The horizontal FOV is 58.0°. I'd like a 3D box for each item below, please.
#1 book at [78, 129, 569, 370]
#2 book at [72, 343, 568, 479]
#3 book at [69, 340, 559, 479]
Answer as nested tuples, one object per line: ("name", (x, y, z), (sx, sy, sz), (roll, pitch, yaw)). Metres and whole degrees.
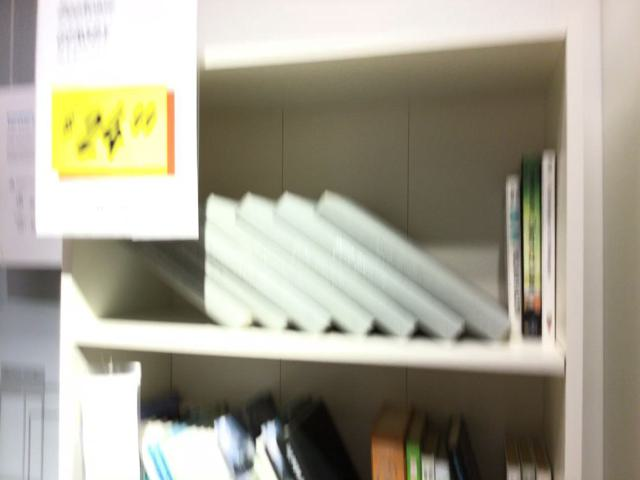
("book", (-0.010, 0.010, 0.700), (0.560, 0.230, 0.140), (0, -1, 17))
("book", (0.000, 0.320, 0.740), (0.560, 0.310, 0.240), (0, -1, 17))
("book", (-0.010, 0.310, 0.720), (0.550, 0.310, 0.210), (0, -1, 17))
